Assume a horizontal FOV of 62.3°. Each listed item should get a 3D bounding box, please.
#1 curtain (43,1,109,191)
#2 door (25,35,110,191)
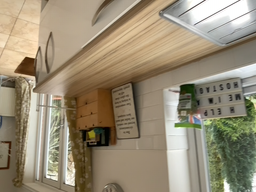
[{"bbox_3d":[-0.540,0.170,2.280,0.430,2.220,0.510,11,163,-42],"label":"curtain"},{"bbox_3d":[-1.190,0.450,3.640,0.100,2.090,2.780,10,163,-41],"label":"door"}]
